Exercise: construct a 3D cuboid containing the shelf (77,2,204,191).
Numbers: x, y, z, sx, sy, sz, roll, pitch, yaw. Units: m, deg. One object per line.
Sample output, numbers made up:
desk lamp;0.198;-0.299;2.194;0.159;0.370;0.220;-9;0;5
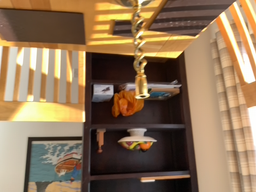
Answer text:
shelf;0.050;0.150;1.820;0.920;1.790;0.400;1;166;-13
